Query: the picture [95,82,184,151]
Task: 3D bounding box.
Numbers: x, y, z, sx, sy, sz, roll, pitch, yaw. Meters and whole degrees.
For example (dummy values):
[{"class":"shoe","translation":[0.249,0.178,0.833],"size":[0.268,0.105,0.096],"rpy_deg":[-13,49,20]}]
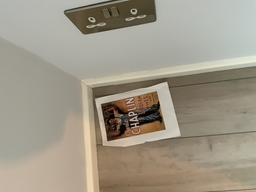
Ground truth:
[{"class":"picture","translation":[0.040,0.080,0.820],"size":[0.300,0.040,0.200],"rpy_deg":[-14,80,7]}]
